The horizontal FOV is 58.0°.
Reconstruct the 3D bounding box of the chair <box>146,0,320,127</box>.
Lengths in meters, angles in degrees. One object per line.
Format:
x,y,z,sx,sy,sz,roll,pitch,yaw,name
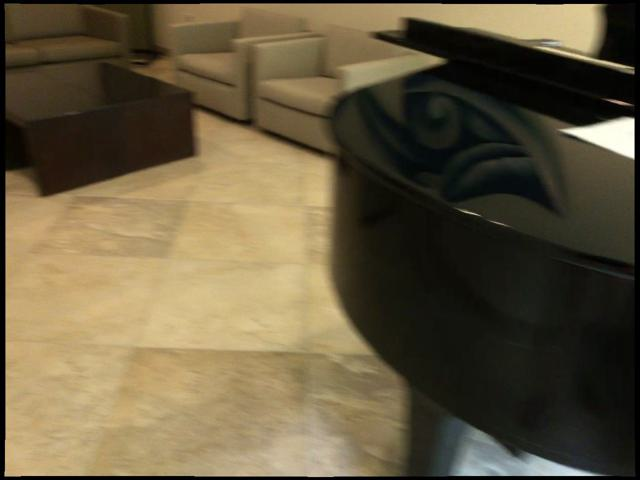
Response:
-0.669,-1.443,4.540,0.949,0.711,0.899,25,36,34,chair

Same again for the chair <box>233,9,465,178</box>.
0.190,-1.092,4.020,1.109,0.761,1.089,25,36,34,chair
